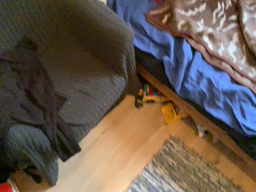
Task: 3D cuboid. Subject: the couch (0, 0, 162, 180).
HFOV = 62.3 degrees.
[{"bbox_3d":[-0.430,-0.160,1.170,0.800,0.670,0.770,41,68,14],"label":"couch"}]
